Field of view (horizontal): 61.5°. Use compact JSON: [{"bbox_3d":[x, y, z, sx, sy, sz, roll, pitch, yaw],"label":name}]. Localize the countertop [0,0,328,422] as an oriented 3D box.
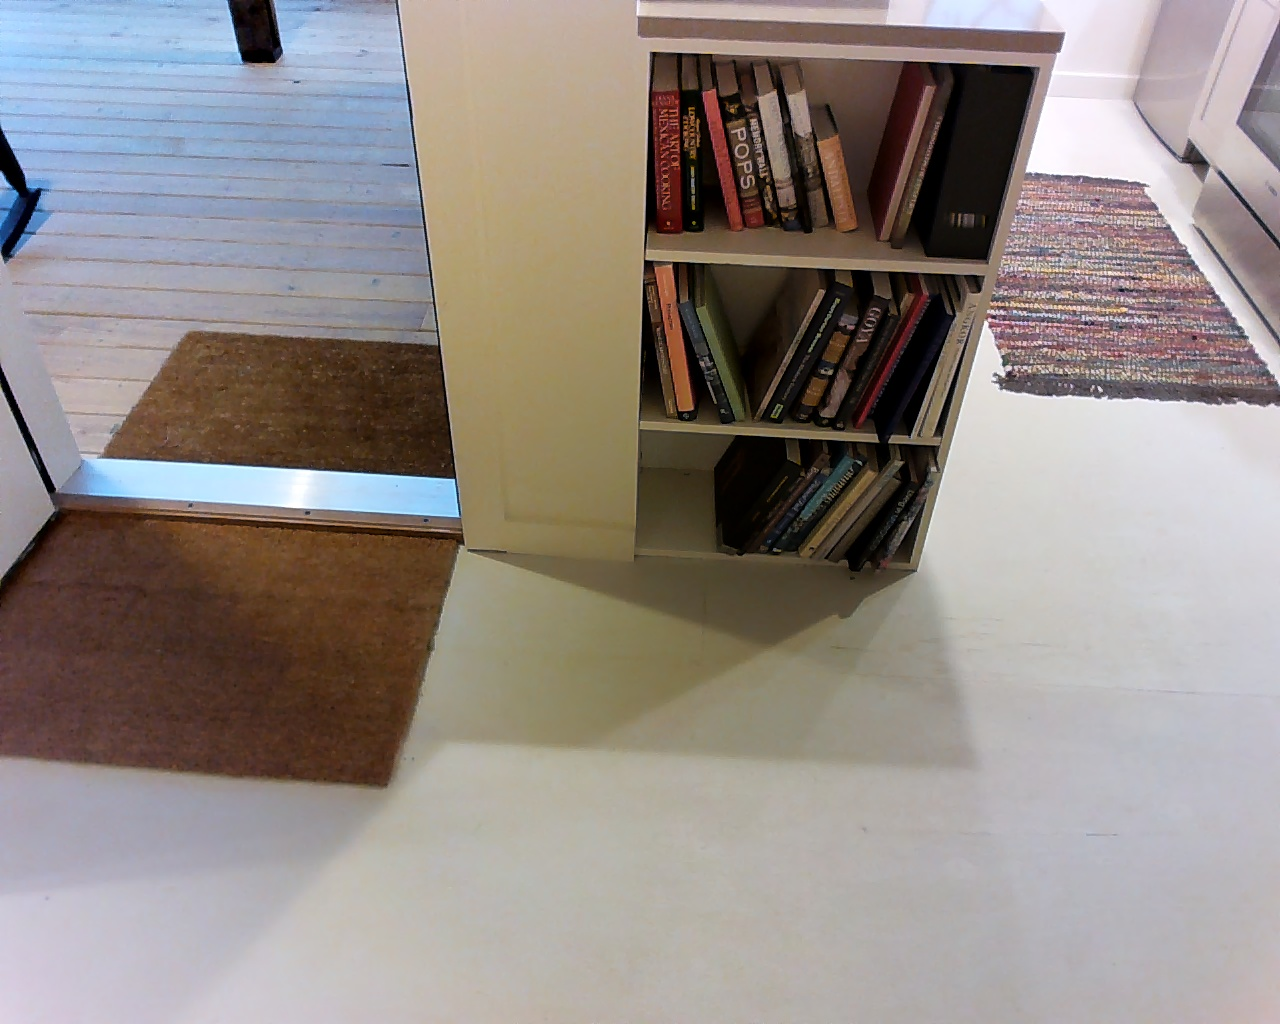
[{"bbox_3d":[-1.690,-1.320,3.360,0.680,0.920,2.190,3,41,2],"label":"countertop"}]
